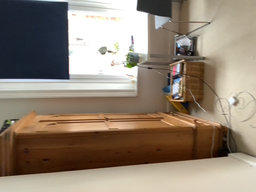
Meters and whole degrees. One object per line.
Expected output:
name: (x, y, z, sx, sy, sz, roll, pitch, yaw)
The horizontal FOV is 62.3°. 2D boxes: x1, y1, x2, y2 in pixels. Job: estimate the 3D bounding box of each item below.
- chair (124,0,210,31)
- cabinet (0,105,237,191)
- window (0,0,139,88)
chair: (0.430, -1.080, 2.490, 0.530, 0.850, 0.420, 178, 92, -75)
cabinet: (-0.090, 0.510, 2.290, 1.130, 1.980, 0.640, -163, 73, -74)
window: (-1.030, -0.760, 2.770, 0.230, 2.390, 1.310, -171, 81, -75)
